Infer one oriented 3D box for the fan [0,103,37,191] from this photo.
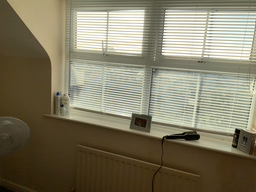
[{"bbox_3d":[-1.170,0.600,1.980,0.420,0.950,0.440,13,13,37],"label":"fan"}]
